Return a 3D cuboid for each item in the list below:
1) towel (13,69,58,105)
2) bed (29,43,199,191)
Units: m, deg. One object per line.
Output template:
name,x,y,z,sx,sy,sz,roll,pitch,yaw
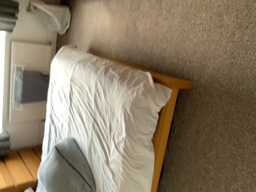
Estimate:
towel,-1.320,-0.130,3.040,0.130,0.540,0.470,22,107,44
bed,-0.410,0.710,2.190,1.600,0.500,2.190,25,109,43
